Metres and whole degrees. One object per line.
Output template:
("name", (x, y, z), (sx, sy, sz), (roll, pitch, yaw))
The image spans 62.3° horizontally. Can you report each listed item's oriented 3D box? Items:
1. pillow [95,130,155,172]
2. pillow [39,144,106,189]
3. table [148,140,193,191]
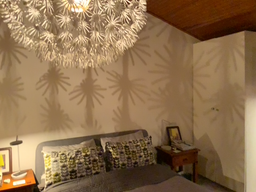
("pillow", (-0.050, 0.720, 2.910), (0.680, 0.330, 0.480), (-3, 4, -27))
("pillow", (-0.670, 0.800, 2.520), (0.680, 0.260, 0.460), (-3, 4, -27))
("table", (0.670, 1.120, 3.400), (0.510, 0.670, 0.500), (-3, 4, -28))
